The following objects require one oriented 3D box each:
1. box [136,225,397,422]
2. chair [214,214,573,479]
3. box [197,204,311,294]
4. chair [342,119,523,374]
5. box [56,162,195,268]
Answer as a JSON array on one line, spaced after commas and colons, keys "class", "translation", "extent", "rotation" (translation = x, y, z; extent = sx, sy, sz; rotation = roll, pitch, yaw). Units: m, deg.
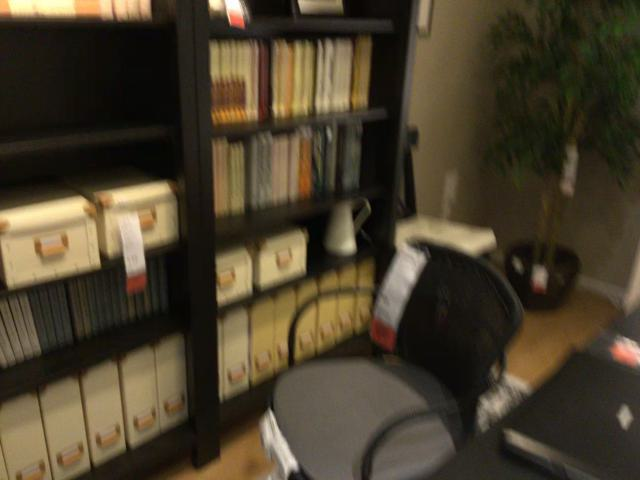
[{"class": "box", "translation": [-0.190, 0.250, 2.180], "extent": [0.770, 0.340, 0.560], "rotation": [-16, 26, -38]}, {"class": "chair", "translation": [0.120, 0.430, 1.360], "extent": [0.530, 0.800, 0.550], "rotation": [-11, 23, -28]}, {"class": "box", "translation": [-0.230, 0.020, 2.010], "extent": [0.250, 0.180, 0.320], "rotation": [-16, 26, -38]}, {"class": "chair", "translation": [0.450, -0.010, 2.470], "extent": [0.460, 0.900, 0.520], "rotation": [-16, 26, -38]}, {"class": "box", "translation": [-0.520, -0.080, 1.540], "extent": [0.230, 0.170, 0.320], "rotation": [-16, 26, -38]}]
